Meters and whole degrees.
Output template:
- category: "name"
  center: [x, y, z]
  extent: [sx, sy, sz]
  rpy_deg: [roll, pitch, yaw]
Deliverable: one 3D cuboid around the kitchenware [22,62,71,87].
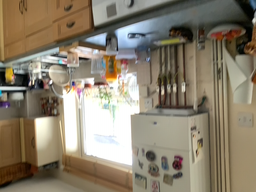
- category: "kitchenware"
  center: [-0.930, -0.230, 2.410]
  extent: [0.450, 0.230, 0.310]
  rpy_deg: [-1, -178, 37]
